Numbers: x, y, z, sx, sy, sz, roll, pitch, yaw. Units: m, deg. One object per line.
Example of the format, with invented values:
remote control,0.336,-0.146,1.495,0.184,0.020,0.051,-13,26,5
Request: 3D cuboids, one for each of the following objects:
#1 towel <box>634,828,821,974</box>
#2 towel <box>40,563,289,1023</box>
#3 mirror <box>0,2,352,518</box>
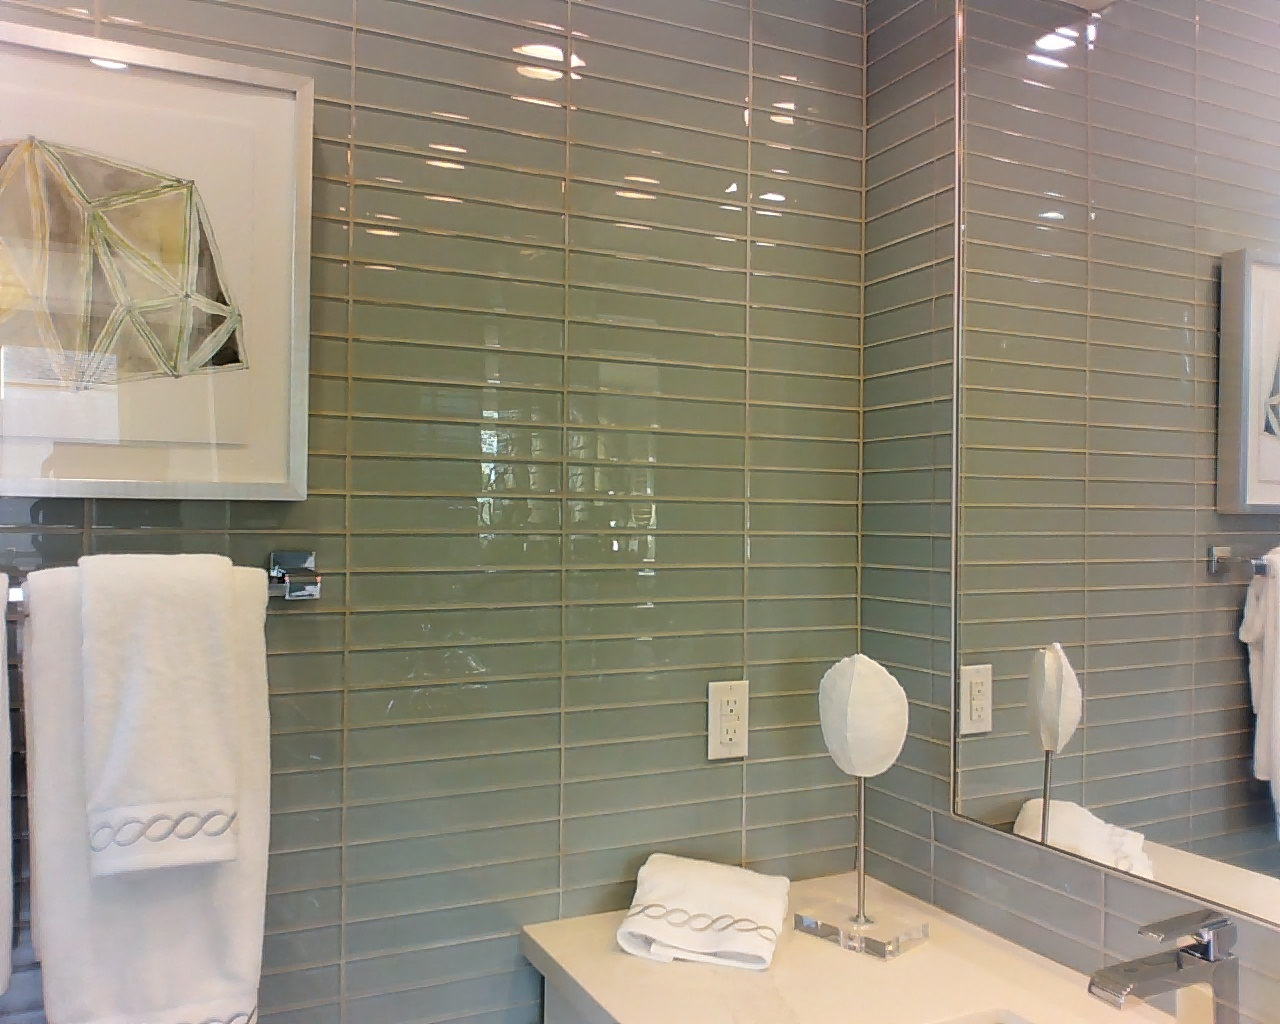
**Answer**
towel,0.130,0.530,1.490,0.220,0.090,0.260,1,0,14
towel,-0.510,0.330,1.160,0.230,0.540,0.140,0,0,-24
mirror,-0.680,-0.270,1.190,0.690,0.550,0.070,0,0,-26
